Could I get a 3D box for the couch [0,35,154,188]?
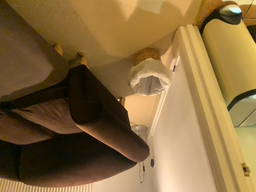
[{"bbox_3d":[-0.670,0.290,1.920,1.530,0.700,1.040,-13,145,14],"label":"couch"}]
